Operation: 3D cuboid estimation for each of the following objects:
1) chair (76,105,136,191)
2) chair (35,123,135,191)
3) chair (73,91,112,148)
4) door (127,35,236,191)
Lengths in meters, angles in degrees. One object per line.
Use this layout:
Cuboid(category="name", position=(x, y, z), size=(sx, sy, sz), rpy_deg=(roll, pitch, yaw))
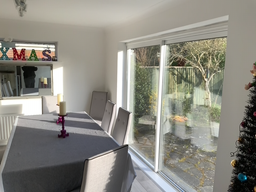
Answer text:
Cuboid(category="chair", position=(-0.300, 0.680, 2.720), size=(0.620, 1.030, 0.450), rpy_deg=(-3, 10, -25))
Cuboid(category="chair", position=(-0.350, 0.830, 1.710), size=(0.610, 1.040, 0.490), rpy_deg=(10, 12, 41))
Cuboid(category="chair", position=(-0.710, 0.440, 4.340), size=(0.510, 0.990, 0.630), rpy_deg=(6, 10, 25))
Cuboid(category="door", position=(0.470, 0.220, 3.080), size=(0.100, 1.890, 2.330), rpy_deg=(-2, 10, -21))
